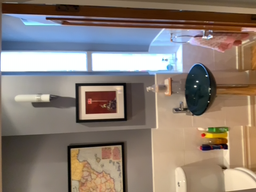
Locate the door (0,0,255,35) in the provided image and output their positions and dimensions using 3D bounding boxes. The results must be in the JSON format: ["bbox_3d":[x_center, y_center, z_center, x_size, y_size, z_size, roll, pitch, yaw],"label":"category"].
[{"bbox_3d":[0.470,-0.440,1.280,0.800,2.010,0.090,-122,32,-72],"label":"door"}]
